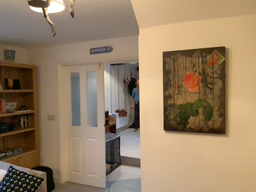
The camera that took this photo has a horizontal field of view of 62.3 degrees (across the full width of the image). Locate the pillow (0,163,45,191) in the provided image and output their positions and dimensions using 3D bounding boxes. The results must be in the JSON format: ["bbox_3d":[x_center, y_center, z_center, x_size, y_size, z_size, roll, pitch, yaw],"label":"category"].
[{"bbox_3d":[-1.160,0.890,2.200,0.410,0.220,0.460,-1,2,2],"label":"pillow"}]
